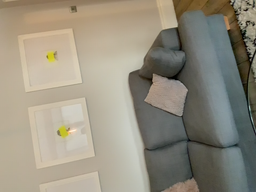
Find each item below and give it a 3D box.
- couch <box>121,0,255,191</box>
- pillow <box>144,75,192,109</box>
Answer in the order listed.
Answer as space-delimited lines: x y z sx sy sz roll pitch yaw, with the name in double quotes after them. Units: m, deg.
0.610 0.460 2.120 0.840 1.100 2.360 -10 84 -8 "couch"
0.420 -0.040 2.170 0.350 0.420 0.120 -44 68 27 "pillow"
